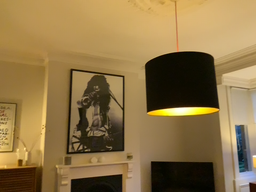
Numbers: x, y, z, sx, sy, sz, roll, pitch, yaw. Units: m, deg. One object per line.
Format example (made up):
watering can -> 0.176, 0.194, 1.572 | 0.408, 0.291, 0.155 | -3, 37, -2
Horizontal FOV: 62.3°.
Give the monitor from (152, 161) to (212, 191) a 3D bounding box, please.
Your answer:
monitor -> 1.060, 1.690, 4.250 | 1.150, 0.740, 0.080 | -1, -9, 4
